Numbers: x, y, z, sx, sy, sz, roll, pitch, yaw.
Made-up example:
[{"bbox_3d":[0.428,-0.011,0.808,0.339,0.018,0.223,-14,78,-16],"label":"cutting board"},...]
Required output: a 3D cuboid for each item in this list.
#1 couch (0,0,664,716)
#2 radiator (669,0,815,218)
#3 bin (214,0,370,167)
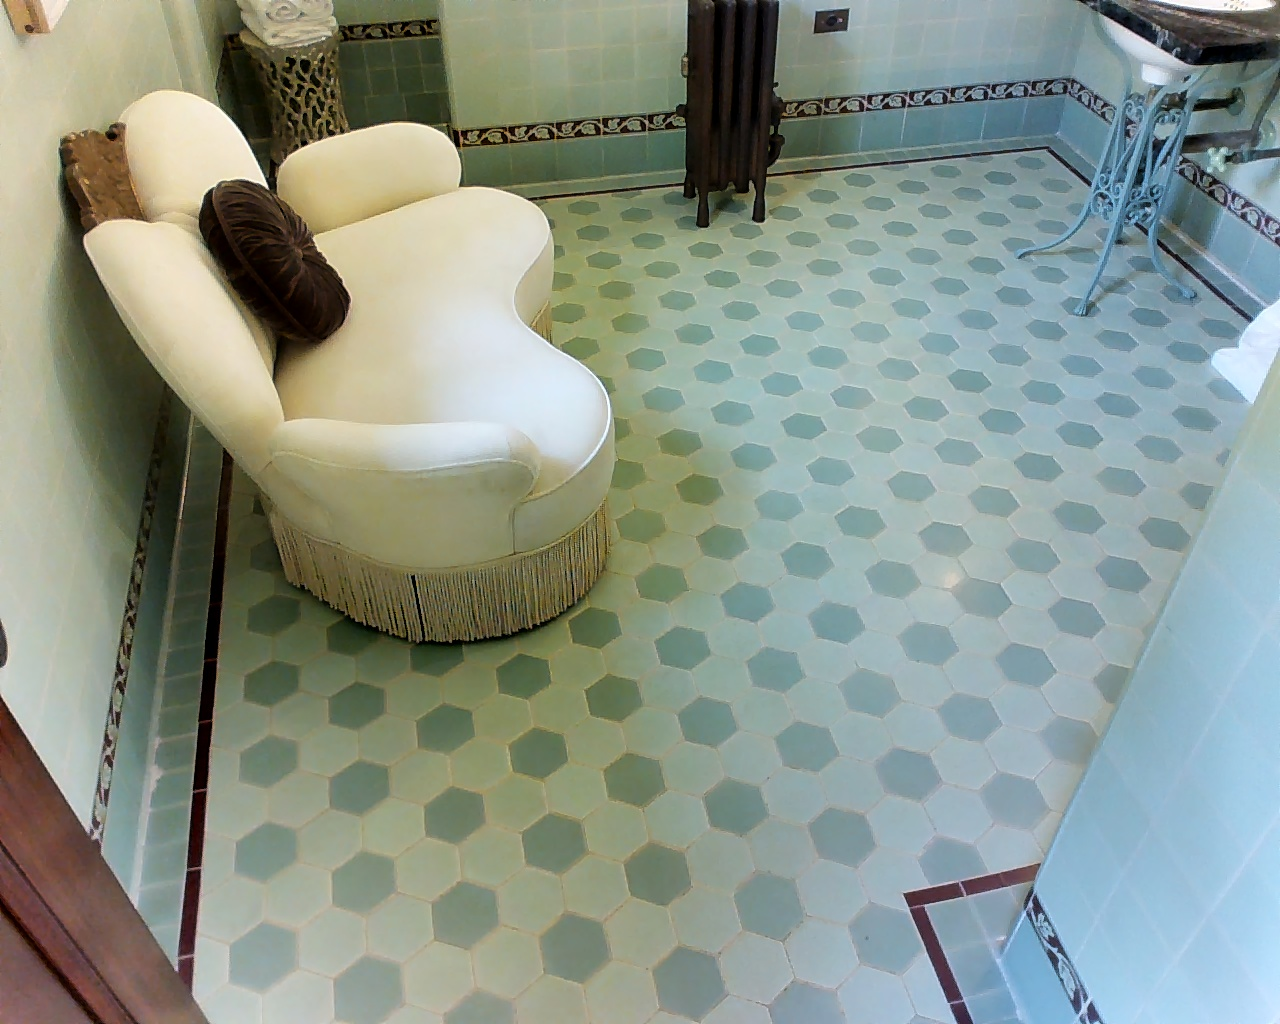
[{"bbox_3d":[-0.560,-0.450,2.230,0.930,0.840,1.350,-9,42,-9],"label":"couch"},{"bbox_3d":[0.290,-1.290,3.270,0.330,0.650,0.340,-8,42,-9],"label":"radiator"},{"bbox_3d":[-1.310,-1.720,4.080,0.430,0.640,0.380,-10,43,-10],"label":"bin"}]
